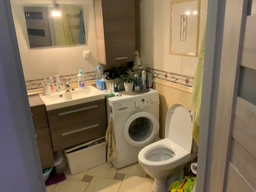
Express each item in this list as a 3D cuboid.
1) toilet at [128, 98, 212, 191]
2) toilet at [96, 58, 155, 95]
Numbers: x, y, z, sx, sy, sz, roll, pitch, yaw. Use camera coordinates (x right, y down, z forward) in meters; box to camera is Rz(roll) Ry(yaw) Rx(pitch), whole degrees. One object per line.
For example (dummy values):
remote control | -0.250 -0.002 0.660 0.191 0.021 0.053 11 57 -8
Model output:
toilet | 0.400 0.520 2.070 0.660 0.810 0.400 -13 21 -30
toilet | -0.030 -0.260 2.580 0.570 0.290 0.440 -12 21 -28
